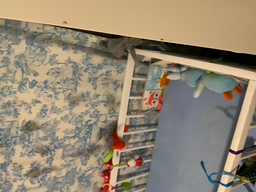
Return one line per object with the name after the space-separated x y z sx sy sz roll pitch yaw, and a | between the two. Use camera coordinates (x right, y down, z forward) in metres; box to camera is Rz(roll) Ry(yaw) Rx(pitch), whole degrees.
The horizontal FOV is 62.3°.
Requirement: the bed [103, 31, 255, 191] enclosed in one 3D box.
0.390 0.390 1.130 0.630 0.790 1.280 29 114 53 | bed
